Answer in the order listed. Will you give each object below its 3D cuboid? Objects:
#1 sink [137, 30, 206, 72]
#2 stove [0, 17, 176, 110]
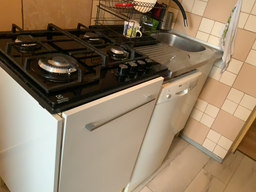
[{"bbox_3d":[0.330,-0.360,1.610,0.350,0.160,0.370,33,35,30],"label":"sink"},{"bbox_3d":[-0.210,-0.210,0.890,0.600,0.060,0.610,33,35,30],"label":"stove"}]
